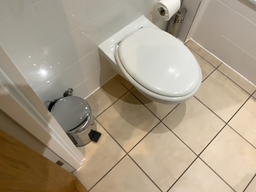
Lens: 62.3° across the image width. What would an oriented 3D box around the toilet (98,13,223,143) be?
[{"bbox_3d":[0.150,-0.090,1.260,0.360,0.450,0.520,-40,71,-19],"label":"toilet"}]
